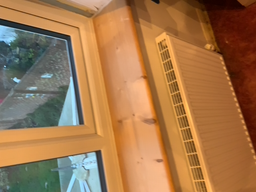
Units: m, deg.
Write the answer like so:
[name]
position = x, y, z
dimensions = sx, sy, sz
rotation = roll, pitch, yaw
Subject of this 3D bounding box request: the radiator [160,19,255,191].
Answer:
[radiator]
position = 0.510, 0.360, 0.980
dimensions = 0.040, 0.590, 1.440
rotation = -24, 71, 42
